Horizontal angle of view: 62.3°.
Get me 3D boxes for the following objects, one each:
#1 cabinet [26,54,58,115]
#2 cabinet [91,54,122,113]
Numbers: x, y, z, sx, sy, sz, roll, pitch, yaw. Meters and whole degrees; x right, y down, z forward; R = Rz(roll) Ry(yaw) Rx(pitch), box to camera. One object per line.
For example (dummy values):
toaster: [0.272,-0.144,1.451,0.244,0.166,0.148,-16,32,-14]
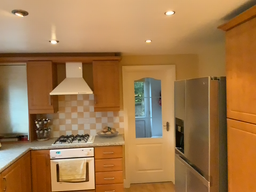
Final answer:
cabinet: [-1.320,-0.170,3.310,0.340,0.890,0.380,-2,2,-6]
cabinet: [-0.350,-0.200,3.430,0.440,0.900,0.360,-2,2,-6]
